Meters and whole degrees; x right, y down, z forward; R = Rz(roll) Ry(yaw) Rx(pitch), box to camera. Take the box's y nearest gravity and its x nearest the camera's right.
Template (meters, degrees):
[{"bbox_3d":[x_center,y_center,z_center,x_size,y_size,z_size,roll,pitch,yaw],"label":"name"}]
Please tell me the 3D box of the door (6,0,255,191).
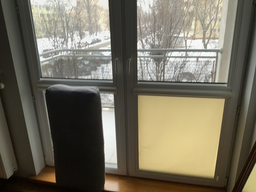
[{"bbox_3d":[-0.020,-0.150,1.730,1.760,2.330,0.190,2,20,10],"label":"door"}]
